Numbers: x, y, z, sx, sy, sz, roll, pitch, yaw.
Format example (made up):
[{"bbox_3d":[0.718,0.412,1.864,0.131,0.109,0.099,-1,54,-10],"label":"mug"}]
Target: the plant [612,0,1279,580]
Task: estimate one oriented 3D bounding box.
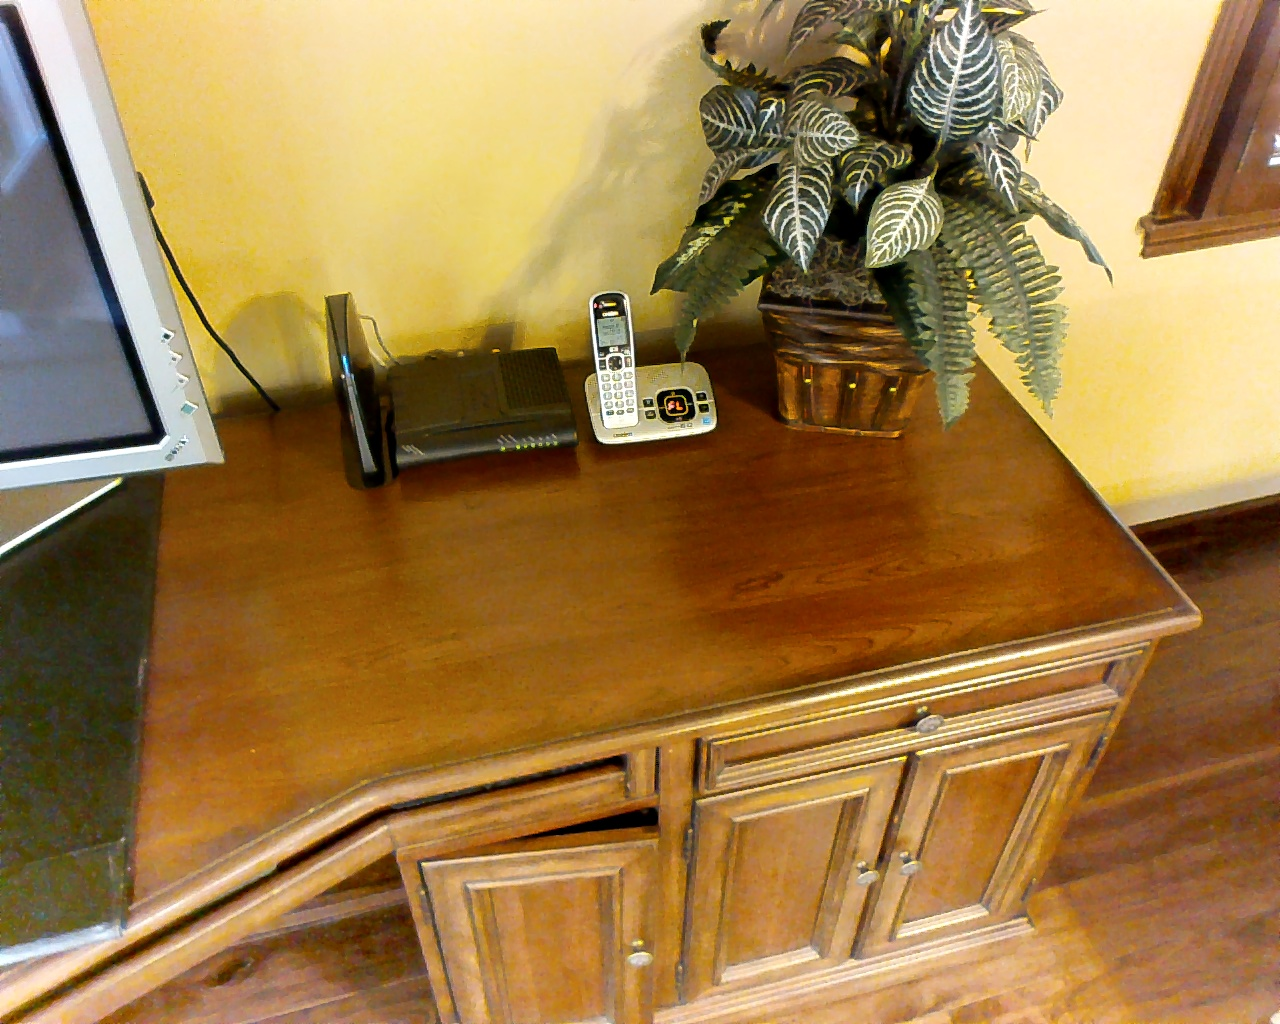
[{"bbox_3d":[0.250,-0.350,1.190,0.440,0.570,0.530,-11,43,-11],"label":"plant"}]
